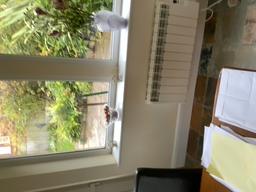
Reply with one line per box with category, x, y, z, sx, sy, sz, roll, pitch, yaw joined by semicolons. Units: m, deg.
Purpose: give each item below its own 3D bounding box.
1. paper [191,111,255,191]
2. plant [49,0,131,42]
paper;0.480;0.280;0.930;0.410;0.110;0.320;-151;63;-64
plant;-0.370;-0.690;1.990;0.430;0.670;0.250;-159;71;-65
